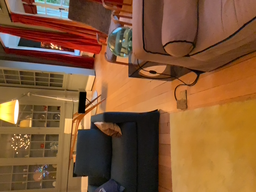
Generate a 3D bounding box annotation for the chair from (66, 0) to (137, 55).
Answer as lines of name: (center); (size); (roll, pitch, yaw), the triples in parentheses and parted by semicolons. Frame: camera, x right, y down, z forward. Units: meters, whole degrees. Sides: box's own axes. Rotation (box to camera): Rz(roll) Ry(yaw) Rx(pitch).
chair: (-0.500, -1.210, 3.550); (0.870, 0.970, 0.610); (-114, 34, -53)
